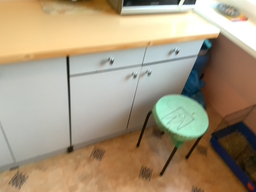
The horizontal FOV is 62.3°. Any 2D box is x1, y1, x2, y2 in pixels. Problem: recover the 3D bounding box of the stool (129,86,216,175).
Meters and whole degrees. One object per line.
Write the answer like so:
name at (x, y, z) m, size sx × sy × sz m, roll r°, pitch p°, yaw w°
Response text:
stool at (0.270, 0.230, 1.440) m, size 0.340 × 0.440 × 0.320 m, roll -14°, pitch 50°, yaw -26°
